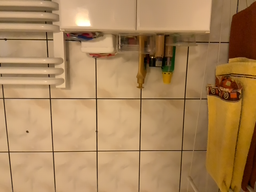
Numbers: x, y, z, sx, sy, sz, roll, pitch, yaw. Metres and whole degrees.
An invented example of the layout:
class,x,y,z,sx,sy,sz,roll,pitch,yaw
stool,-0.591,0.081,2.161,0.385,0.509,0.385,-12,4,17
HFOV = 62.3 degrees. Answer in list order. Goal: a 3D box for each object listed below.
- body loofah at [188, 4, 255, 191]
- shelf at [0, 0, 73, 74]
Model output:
class,x,y,z,sx,sy,sz,roll,pitch,yaw
body loofah,0.430,0.060,0.810,0.250,0.690,0.350,1,-169,0
shelf,-0.470,-0.480,0.780,0.470,0.770,0.170,1,-169,-2
